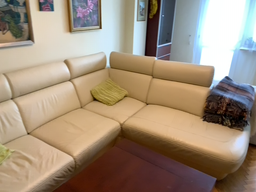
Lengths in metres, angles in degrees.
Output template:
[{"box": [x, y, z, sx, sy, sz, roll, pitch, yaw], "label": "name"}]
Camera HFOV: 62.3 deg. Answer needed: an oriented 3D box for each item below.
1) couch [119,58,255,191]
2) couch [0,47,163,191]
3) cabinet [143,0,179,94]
[{"box": [0.710, 0.220, 2.350, 1.220, 0.950, 1.040, 15, 25, 28], "label": "couch"}, {"box": [-0.660, 0.190, 2.260, 1.040, 0.980, 2.590, 15, 25, 28], "label": "couch"}, {"box": [0.640, -1.110, 4.140, 0.300, 2.040, 0.650, 16, 26, 30], "label": "cabinet"}]
